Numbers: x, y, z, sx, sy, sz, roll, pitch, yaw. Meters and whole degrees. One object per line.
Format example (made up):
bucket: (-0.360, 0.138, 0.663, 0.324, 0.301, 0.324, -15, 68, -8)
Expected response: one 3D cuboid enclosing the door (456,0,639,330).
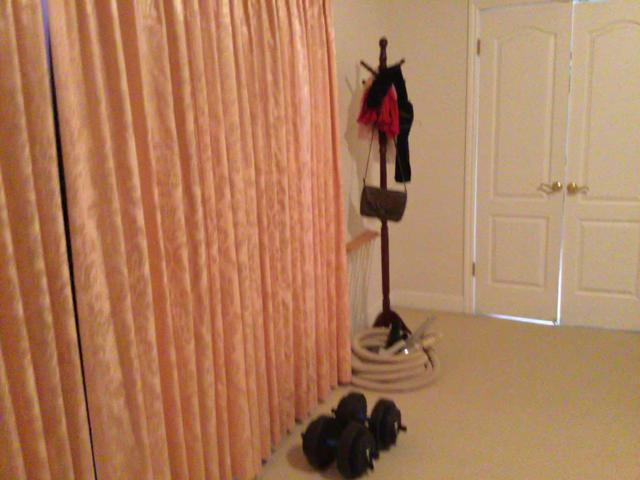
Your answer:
door: (1.470, -0.490, 3.450, 1.250, 2.010, 0.120, 4, 15, 26)
